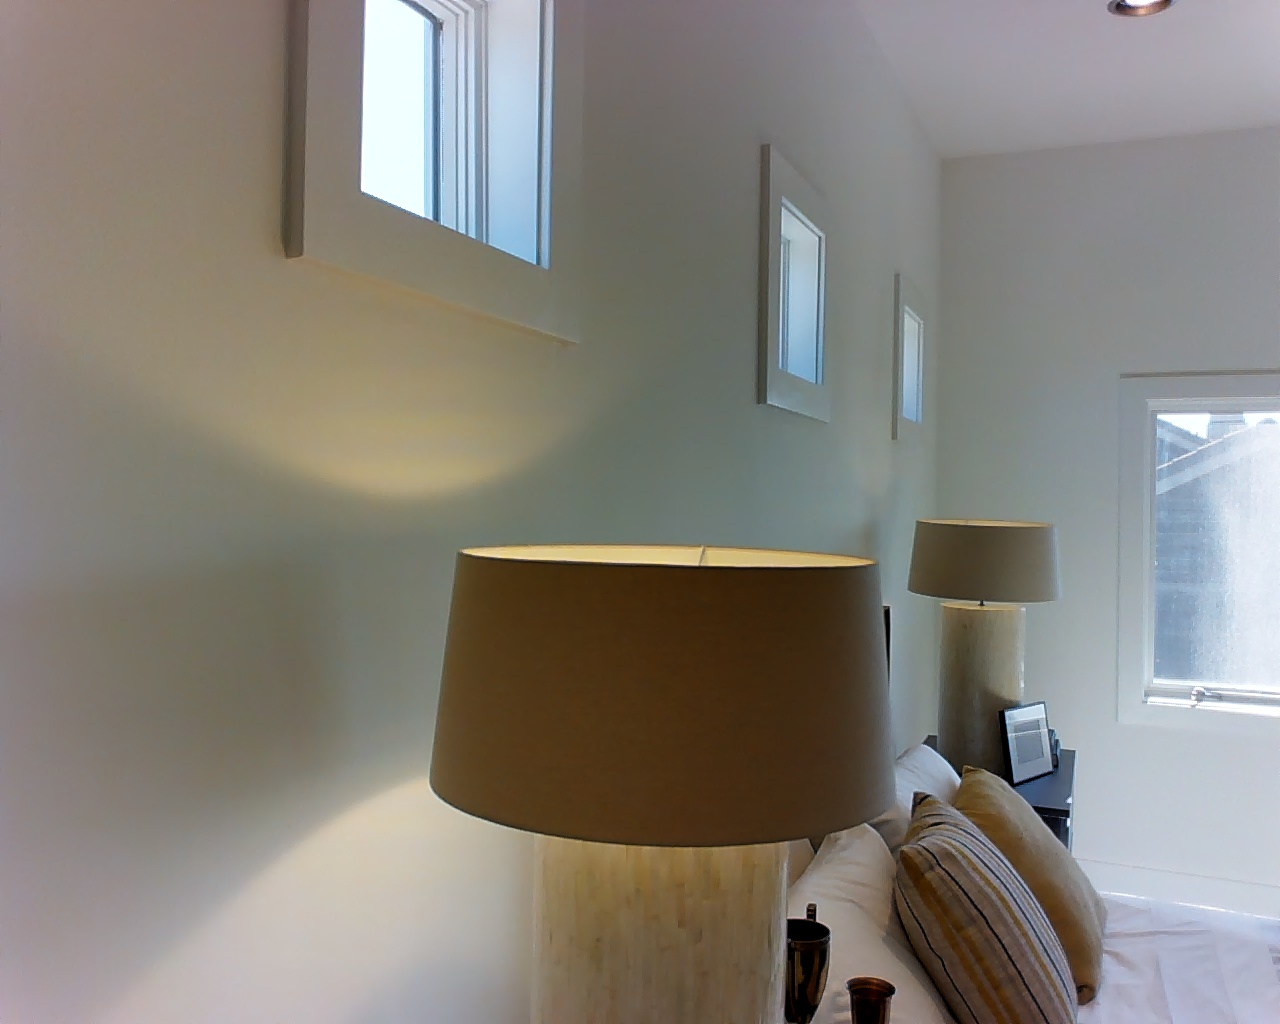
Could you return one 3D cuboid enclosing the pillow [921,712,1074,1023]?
[{"bbox_3d":[0.670,0.740,1.950,0.200,0.500,0.530,0,35,24],"label":"pillow"}]
